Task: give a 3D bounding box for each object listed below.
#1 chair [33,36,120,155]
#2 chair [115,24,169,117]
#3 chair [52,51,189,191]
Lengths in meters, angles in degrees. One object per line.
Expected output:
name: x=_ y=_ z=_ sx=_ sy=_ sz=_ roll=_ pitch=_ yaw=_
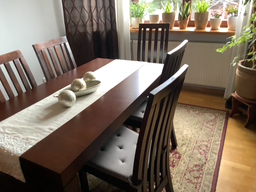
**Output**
chair: x=-0.470 y=-0.030 z=2.120 sx=0.560 sy=1.010 sz=0.430 roll=13 pitch=30 yaw=30
chair: x=0.210 y=-0.350 z=2.700 sx=0.460 sy=1.010 sz=0.560 roll=9 pitch=28 yaw=23
chair: x=0.000 y=0.310 z=1.330 sx=0.560 sy=1.040 sz=0.460 roll=12 pitch=29 yaw=28
